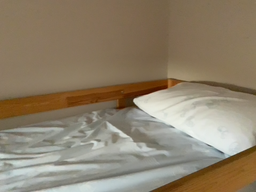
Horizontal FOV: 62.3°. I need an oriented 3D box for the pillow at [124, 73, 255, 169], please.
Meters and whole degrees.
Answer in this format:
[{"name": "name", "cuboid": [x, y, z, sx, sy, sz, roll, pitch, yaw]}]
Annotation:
[{"name": "pillow", "cuboid": [0.360, 0.040, 1.120, 0.420, 0.190, 0.800, -9, 16, -29]}]
